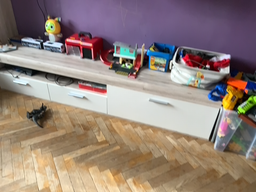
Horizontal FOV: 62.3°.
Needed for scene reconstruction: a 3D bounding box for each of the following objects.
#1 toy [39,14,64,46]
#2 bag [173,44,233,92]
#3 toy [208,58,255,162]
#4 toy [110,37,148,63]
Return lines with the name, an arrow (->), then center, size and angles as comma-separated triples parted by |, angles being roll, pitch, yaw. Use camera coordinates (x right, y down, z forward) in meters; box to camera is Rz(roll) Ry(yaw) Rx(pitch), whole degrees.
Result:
toy -> -0.740, -0.640, 2.070 | 0.160, 0.260, 0.100 | 11, 36, 10
bag -> 0.590, -0.240, 1.690 | 0.380, 0.150, 0.390 | 13, 36, 12
toy -> 0.920, 0.090, 1.690 | 0.370, 0.550, 0.550 | 15, 37, 14
toy -> 0.010, -0.420, 1.920 | 0.300, 0.130, 0.180 | 13, 36, 12
